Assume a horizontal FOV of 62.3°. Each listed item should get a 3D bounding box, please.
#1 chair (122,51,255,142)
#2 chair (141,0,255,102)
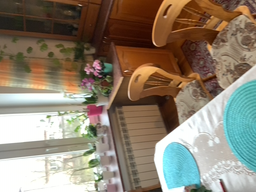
[{"bbox_3d":[0.470,0.010,1.720,0.430,0.860,0.520,122,141,-51],"label":"chair"},{"bbox_3d":[0.620,-0.300,1.360,0.440,0.870,0.520,126,137,-54],"label":"chair"}]
